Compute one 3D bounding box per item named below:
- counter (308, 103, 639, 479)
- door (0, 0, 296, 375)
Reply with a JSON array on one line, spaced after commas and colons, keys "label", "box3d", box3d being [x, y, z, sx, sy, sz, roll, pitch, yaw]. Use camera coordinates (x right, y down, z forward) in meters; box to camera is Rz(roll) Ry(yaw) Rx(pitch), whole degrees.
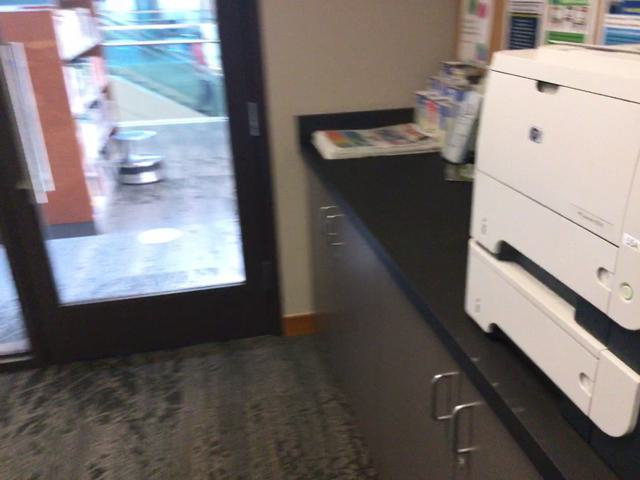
[{"label": "counter", "box3d": [0.500, 0.100, 0.930, 0.630, 0.240, 2.760, -3, 22, -9]}, {"label": "door", "box3d": [-0.650, -0.270, 2.140, 1.090, 1.540, 0.230, -3, 22, -10]}]
